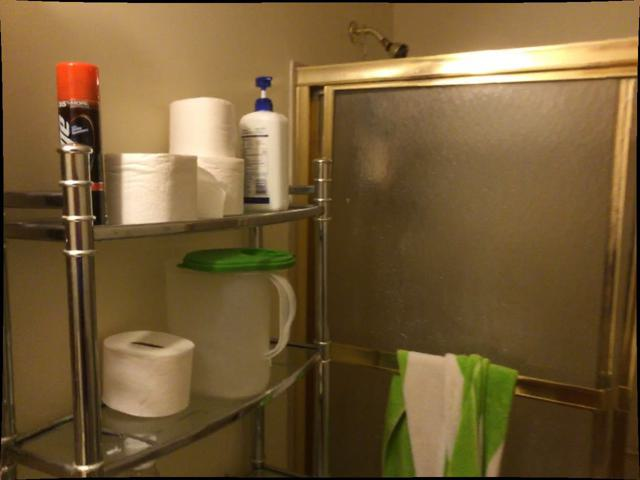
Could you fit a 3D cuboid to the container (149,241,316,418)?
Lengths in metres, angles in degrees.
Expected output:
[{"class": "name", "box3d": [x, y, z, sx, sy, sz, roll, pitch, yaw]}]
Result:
[{"class": "container", "box3d": [-0.150, 0.140, 1.020, 0.220, 0.250, 0.190, 3, 7, 28]}]
